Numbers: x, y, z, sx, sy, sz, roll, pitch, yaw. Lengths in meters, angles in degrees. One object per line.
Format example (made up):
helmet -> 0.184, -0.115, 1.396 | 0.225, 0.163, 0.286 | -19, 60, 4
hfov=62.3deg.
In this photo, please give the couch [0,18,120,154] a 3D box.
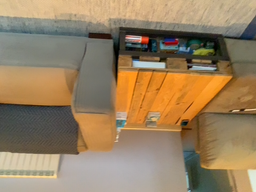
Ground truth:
couch -> -0.790, 0.000, 1.780 | 1.370, 0.730, 0.960 | 2, 152, -6
